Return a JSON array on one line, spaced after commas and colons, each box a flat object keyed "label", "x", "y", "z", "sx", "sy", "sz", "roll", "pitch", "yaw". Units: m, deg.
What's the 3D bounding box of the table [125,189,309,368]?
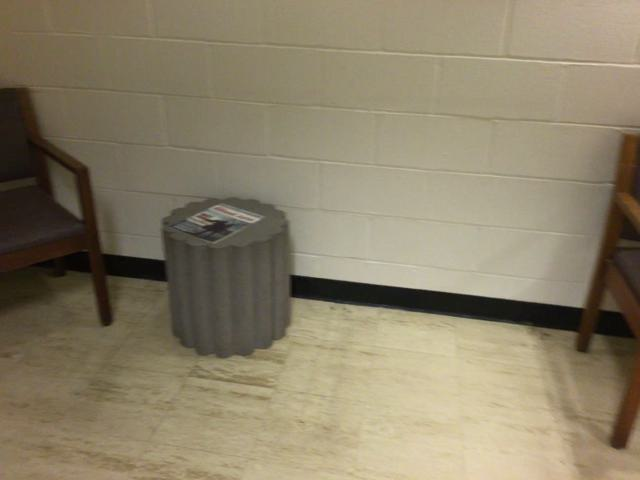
[{"label": "table", "x": -0.350, "y": 0.120, "z": 2.160, "sx": 0.520, "sy": 0.460, "sz": 0.450, "roll": 6, "pitch": 24, "yaw": 10}]

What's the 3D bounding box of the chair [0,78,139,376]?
[{"label": "chair", "x": -1.200, "y": -0.080, "z": 2.080, "sx": 0.740, "sy": 0.840, "sz": 0.740, "roll": -17, "pitch": 30, "yaw": -37}]
